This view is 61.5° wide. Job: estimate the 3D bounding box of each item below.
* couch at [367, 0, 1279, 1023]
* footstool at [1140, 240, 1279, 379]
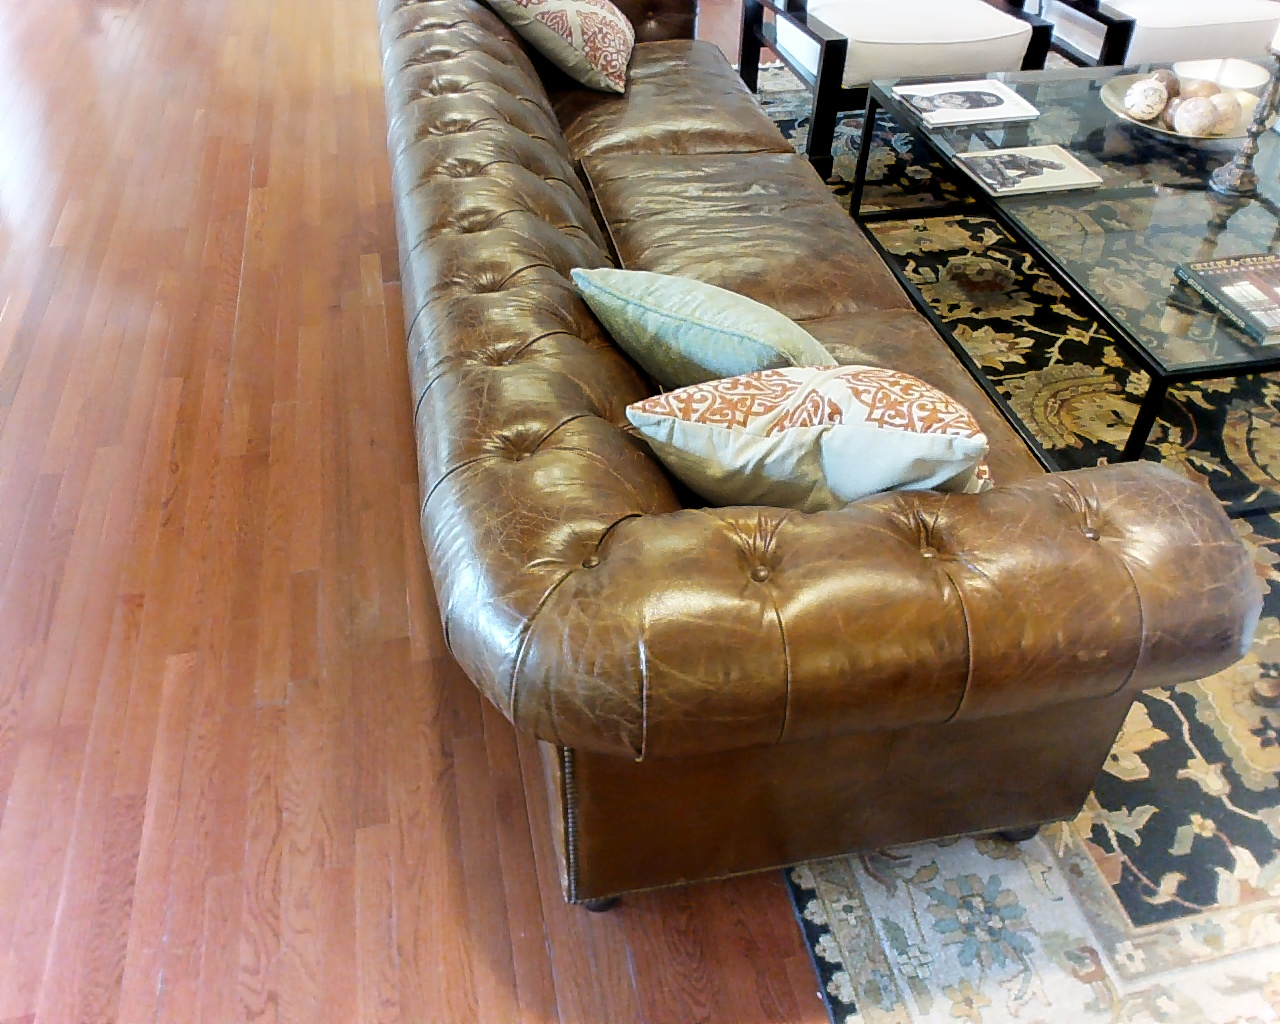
[{"bbox_3d":[0.010,-0.620,2.450,1.080,0.820,3.020,-8,43,-10],"label":"couch"},{"bbox_3d":[1.290,-0.430,2.240,0.310,0.100,0.330,-8,43,-10],"label":"footstool"}]
